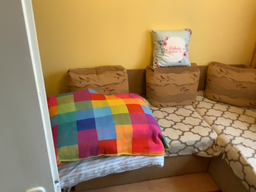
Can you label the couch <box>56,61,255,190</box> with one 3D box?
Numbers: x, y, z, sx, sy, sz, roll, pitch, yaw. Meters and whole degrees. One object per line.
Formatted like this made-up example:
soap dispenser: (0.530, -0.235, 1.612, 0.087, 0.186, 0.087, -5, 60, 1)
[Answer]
couch: (0.440, 0.180, 2.100, 2.060, 0.750, 0.810, -3, 30, -12)
